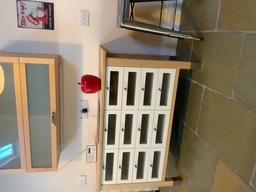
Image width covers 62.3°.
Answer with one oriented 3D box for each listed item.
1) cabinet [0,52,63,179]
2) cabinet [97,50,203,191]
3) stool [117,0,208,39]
[{"bbox_3d":[-1.040,0.200,2.220,0.390,0.620,1.240,-122,34,-69],"label":"cabinet"},{"bbox_3d":[0.130,0.240,2.310,0.670,0.870,1.350,-122,34,-69],"label":"cabinet"},{"bbox_3d":[0.290,-0.830,2.050,0.590,0.690,0.480,-122,34,-69],"label":"stool"}]
